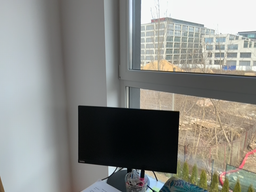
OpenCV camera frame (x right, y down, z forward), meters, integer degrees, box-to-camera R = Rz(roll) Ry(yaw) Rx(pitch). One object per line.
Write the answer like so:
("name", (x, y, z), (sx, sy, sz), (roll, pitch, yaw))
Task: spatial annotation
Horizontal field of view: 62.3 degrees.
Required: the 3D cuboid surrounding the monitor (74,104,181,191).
("monitor", (-0.020, 0.280, 1.150), (0.560, 0.430, 0.040), (4, 8, 11))
